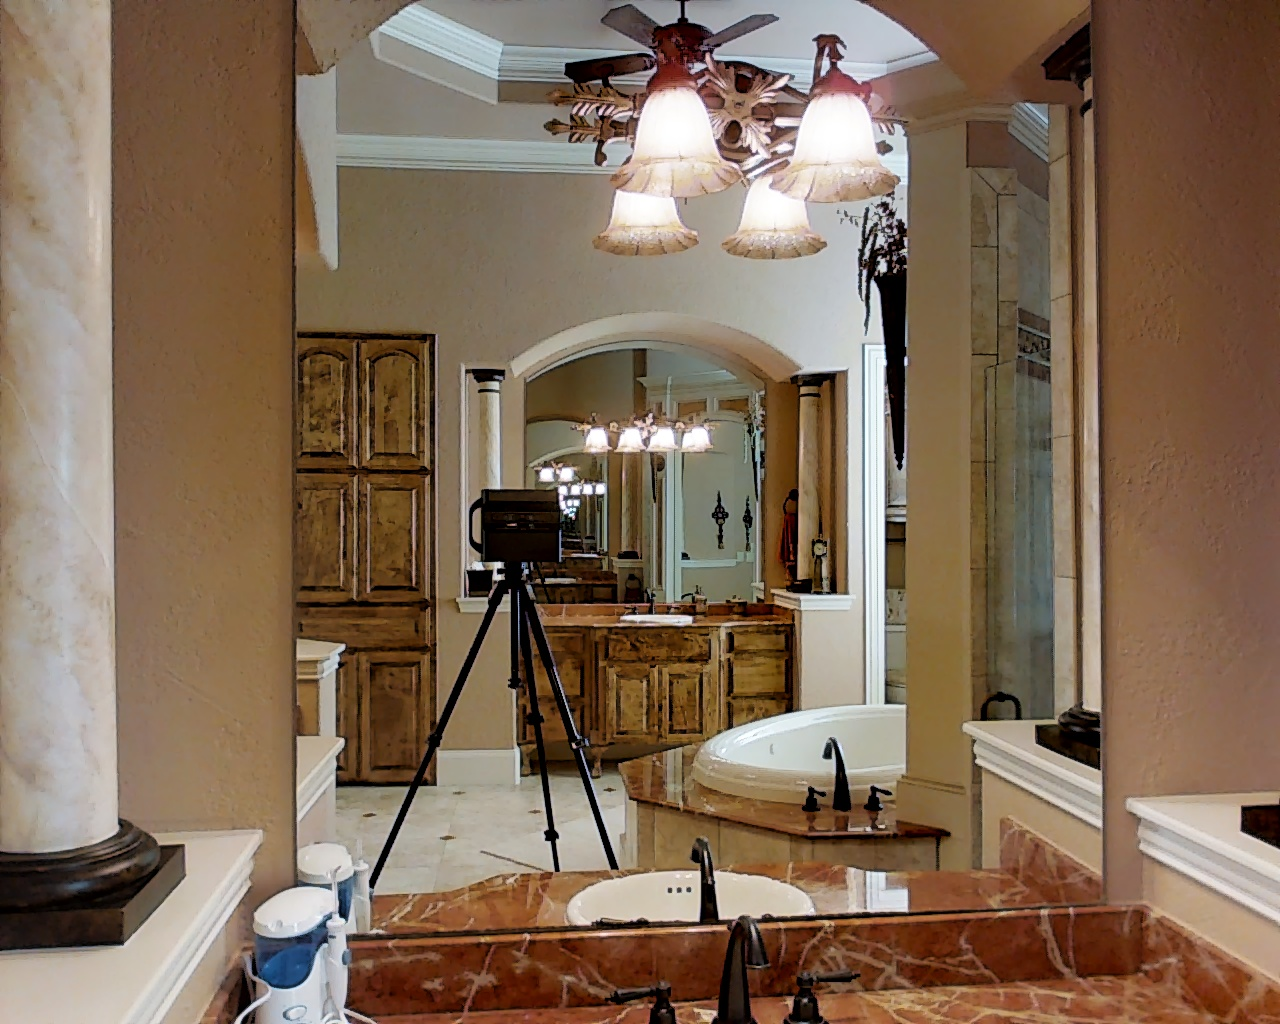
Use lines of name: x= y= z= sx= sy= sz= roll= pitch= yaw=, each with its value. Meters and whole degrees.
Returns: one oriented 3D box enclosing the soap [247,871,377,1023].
soap: x=-0.440 y=0.620 z=1.460 sx=0.140 sy=0.210 sz=0.160 roll=0 pitch=-1 yaw=-6
